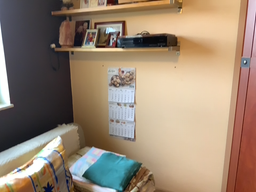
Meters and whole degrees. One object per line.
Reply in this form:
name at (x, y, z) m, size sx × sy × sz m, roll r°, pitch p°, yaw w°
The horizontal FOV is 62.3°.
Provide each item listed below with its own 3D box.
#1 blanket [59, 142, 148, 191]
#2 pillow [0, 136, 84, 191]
blanket at (-0.190, 0.580, 1.760) m, size 0.590 × 0.130 × 0.430 m, roll 6°, pitch 15°, yaw 24°
pillow at (-0.590, 0.580, 1.330) m, size 0.240 × 0.400 × 0.660 m, roll 7°, pitch 15°, yaw 26°
